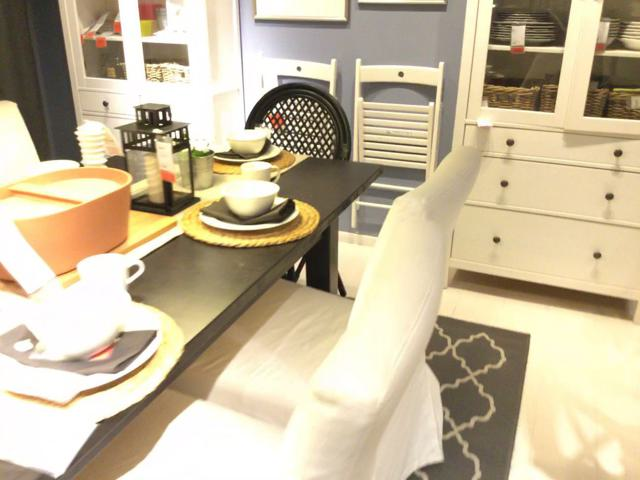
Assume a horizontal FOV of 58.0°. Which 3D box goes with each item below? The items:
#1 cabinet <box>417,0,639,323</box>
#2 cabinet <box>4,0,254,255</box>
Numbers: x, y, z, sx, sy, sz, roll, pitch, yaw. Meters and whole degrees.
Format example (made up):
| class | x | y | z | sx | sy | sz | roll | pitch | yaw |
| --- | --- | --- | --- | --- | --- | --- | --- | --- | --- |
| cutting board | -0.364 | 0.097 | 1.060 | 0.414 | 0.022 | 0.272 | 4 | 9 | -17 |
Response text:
| class | x | y | z | sx | sy | sz | roll | pitch | yaw |
| --- | --- | --- | --- | --- | --- | --- | --- | --- | --- |
| cabinet | 0.990 | -0.720 | 2.290 | 0.970 | 2.000 | 0.420 | 10 | 26 | 19 |
| cabinet | -1.000 | -1.060 | 3.050 | 1.200 | 2.090 | 0.440 | 10 | 23 | 19 |
